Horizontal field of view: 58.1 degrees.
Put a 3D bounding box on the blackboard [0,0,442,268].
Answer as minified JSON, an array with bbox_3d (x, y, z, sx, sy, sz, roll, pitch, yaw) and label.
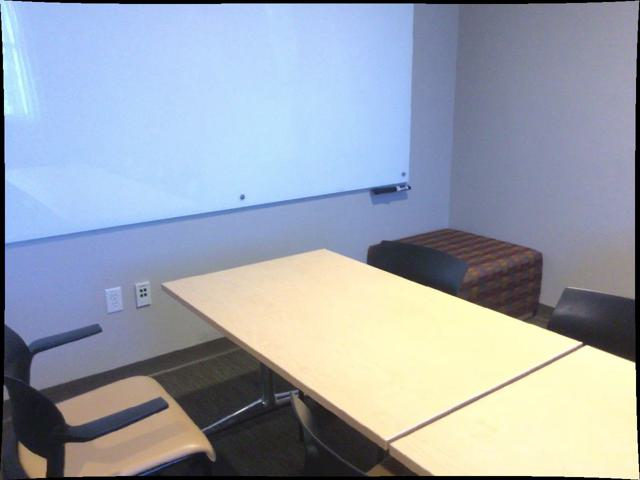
[{"bbox_3d":[-0.409,-0.761,2.760,2.397,1.392,0.330,-10,19,-34],"label":"blackboard"}]

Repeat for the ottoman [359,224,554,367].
[{"bbox_3d":[0.779,0.270,3.390,0.789,0.491,0.750,-10,19,-34],"label":"ottoman"}]
